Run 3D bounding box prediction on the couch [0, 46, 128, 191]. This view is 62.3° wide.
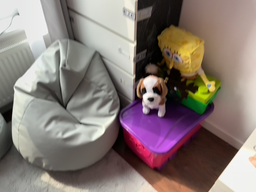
[{"bbox_3d":[-0.440,0.180,1.380,0.710,0.610,0.700,12,47,11],"label":"couch"}]
